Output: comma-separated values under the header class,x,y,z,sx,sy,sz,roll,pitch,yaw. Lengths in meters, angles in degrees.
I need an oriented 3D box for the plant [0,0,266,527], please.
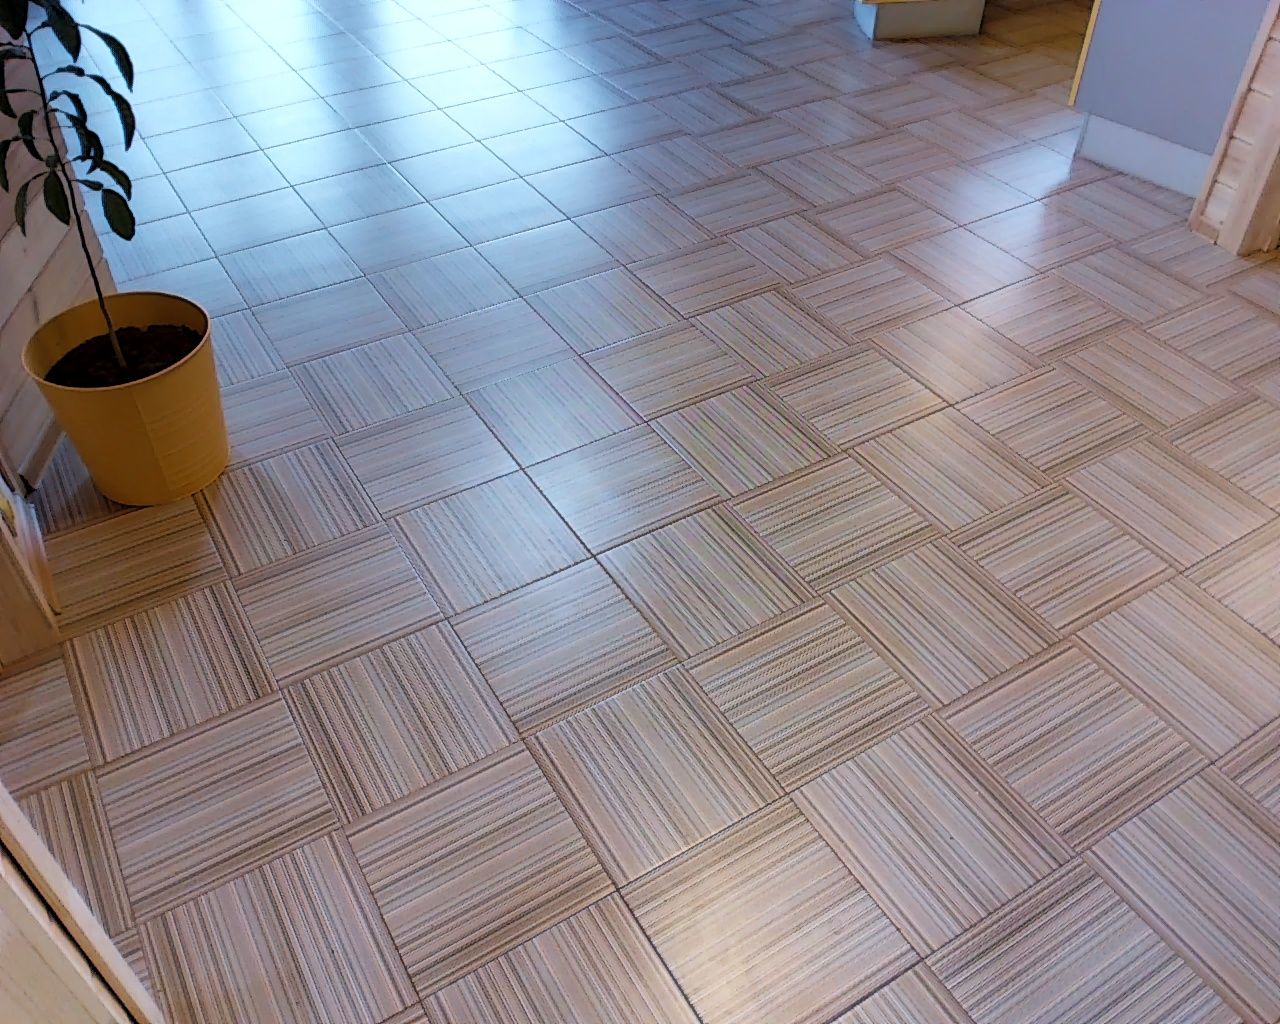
class,x,y,z,sx,sy,sz,roll,pitch,yaw
plant,-1.120,-0.590,2.030,0.450,1.310,0.370,-3,42,-3
